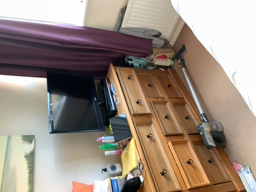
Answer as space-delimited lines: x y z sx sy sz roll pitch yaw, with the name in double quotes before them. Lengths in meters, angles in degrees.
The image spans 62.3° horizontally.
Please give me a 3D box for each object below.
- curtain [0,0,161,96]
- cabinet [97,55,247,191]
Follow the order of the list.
"curtain" -0.690 -0.450 2.200 0.880 1.860 0.300 115 148 -41
"cabinet" 0.270 0.300 2.140 0.530 0.810 1.530 114 148 -42
